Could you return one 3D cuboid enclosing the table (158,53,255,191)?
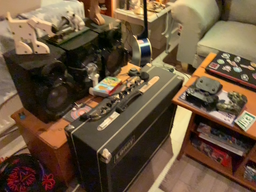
[{"bbox_3d":[0.830,0.280,1.200,1.110,0.540,0.570,25,47,24],"label":"table"}]
